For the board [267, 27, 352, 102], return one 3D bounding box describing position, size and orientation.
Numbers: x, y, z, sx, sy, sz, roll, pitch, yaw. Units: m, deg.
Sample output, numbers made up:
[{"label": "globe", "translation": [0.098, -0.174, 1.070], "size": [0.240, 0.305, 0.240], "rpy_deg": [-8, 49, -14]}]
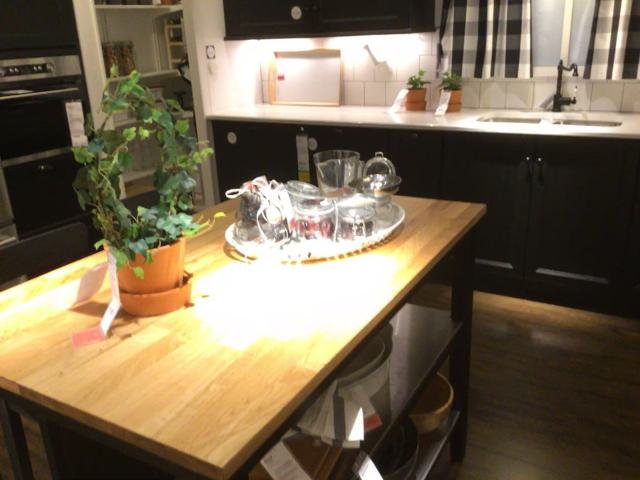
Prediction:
[{"label": "board", "translation": [-0.070, -1.130, 3.750], "size": [0.560, 0.440, 0.110], "rpy_deg": [10, 24, 32]}]
